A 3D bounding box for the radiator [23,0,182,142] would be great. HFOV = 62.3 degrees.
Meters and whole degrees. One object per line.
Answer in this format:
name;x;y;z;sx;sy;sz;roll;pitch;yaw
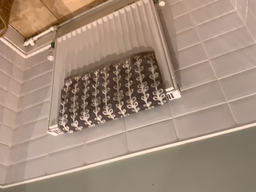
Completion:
radiator;-0.170;-0.180;1.040;0.700;0.640;0.090;-19;148;16
